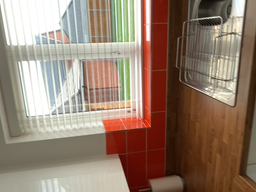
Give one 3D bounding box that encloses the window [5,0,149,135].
[{"bbox_3d":[-0.310,-0.340,1.540,0.180,0.910,1.170,-128,35,-71],"label":"window"}]
